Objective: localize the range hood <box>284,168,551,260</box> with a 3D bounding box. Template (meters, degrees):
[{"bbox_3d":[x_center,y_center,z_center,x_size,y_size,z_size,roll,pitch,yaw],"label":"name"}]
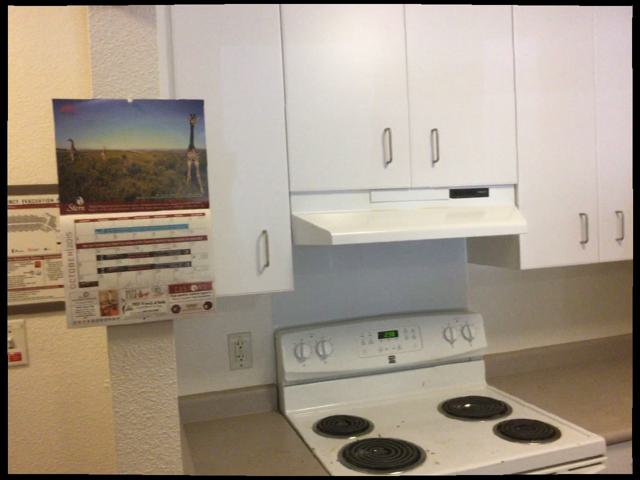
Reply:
[{"bbox_3d":[0.299,-0.090,1.730,0.779,0.200,0.200,-6,6,-18],"label":"range hood"}]

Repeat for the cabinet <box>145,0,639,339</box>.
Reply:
[{"bbox_3d":[0.419,-0.391,1.930,1.847,1.112,0.350,-6,6,-18],"label":"cabinet"}]

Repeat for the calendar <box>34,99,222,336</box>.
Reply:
[{"bbox_3d":[-0.369,-0.050,1.150,0.290,0.431,0.080,-8,13,-17],"label":"calendar"}]
